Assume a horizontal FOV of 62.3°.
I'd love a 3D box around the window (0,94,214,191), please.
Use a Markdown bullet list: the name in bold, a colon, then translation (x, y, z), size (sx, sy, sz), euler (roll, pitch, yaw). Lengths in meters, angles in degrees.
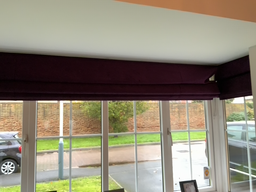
- **window**: translation (-0.290, 0.490, 1.800), size (2.410, 0.990, 0.060), euler (1, -5, -19)
